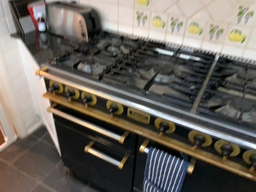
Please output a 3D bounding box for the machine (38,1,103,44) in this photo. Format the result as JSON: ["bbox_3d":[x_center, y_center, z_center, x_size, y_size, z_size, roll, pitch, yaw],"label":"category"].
[{"bbox_3d":[-0.380,-0.510,1.440,0.350,0.180,0.210,17,38,19],"label":"machine"}]
